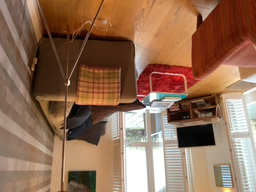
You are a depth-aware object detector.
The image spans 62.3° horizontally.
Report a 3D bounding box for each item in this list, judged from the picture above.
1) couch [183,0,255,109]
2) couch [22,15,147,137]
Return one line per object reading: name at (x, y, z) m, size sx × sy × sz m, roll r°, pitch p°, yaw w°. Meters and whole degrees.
couch at (0.950, -0.450, 1.370) m, size 0.770 × 0.870 × 0.890 m, roll 1°, pitch 162°, yaw -10°
couch at (-0.630, 0.040, 3.040) m, size 1.030 × 0.780 × 2.470 m, roll 3°, pitch 162°, yaw -14°
